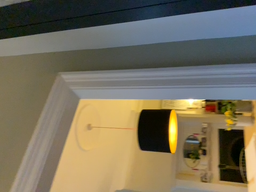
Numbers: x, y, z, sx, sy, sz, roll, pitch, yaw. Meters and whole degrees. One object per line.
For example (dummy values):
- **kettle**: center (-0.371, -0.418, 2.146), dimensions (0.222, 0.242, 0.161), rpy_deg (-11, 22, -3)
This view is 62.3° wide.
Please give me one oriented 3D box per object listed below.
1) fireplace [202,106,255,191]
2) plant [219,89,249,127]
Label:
- **fireplace**: center (2.090, 1.040, 4.070), dimensions (0.740, 1.240, 1.510), rpy_deg (62, -146, -54)
- **plant**: center (1.380, 0.150, 2.790), dimensions (0.190, 0.300, 0.460), rpy_deg (64, -148, -52)
